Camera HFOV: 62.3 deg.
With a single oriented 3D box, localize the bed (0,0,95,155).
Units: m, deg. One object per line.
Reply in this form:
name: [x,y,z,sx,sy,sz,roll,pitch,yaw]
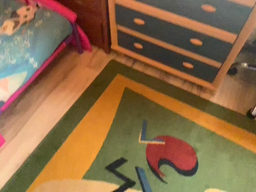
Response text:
bed: [-0.950,-0.030,1.150,0.780,0.300,1.550,24,60,14]
